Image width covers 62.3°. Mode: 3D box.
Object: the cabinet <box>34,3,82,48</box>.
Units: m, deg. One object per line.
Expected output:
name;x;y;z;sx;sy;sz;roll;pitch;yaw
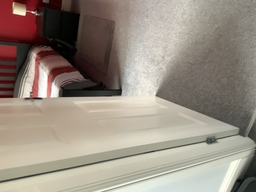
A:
cabinet;-1.120;-1.100;3.330;0.550;0.540;0.500;40;123;48
